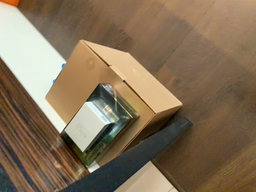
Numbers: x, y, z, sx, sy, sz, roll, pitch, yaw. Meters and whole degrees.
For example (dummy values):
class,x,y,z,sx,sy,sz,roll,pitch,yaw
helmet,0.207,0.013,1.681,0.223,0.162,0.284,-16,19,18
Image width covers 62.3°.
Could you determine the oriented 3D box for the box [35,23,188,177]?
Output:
class,x,y,z,sx,sy,sz,roll,pitch,yaw
box,-0.060,0.000,0.950,0.490,0.370,0.320,48,112,17
